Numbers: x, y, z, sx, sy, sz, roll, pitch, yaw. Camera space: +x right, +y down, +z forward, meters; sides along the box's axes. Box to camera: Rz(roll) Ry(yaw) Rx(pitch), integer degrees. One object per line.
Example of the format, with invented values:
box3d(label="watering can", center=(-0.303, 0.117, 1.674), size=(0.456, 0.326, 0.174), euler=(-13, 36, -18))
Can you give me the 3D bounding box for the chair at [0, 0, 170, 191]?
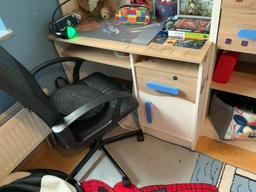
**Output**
box3d(label="chair", center=(-0.250, 0.020, 1.210), size=(0.700, 0.990, 0.650), euler=(-29, 44, -21))
